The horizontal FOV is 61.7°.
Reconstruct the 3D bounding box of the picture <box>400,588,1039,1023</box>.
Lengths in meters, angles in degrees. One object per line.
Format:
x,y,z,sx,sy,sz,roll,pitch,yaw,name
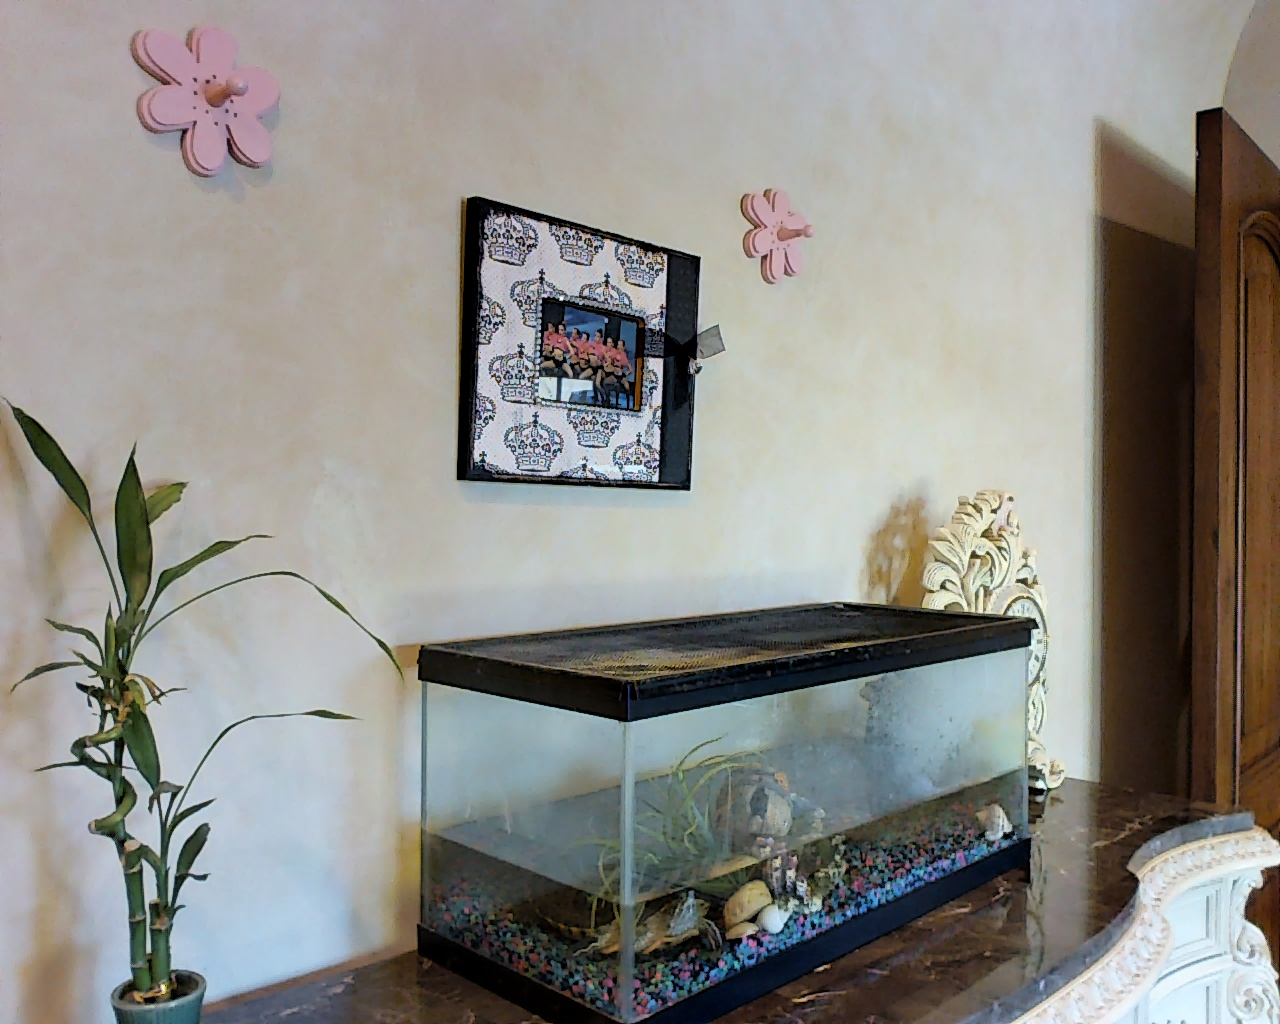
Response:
0.140,0.300,1.300,0.360,0.350,0.770,1,1,45,picture

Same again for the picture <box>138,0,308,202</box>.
-0.390,-0.390,1.010,0.030,0.160,0.150,1,1,45,picture

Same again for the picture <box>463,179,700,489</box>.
-0.060,-0.200,1.330,0.040,0.340,0.360,1,1,45,picture
